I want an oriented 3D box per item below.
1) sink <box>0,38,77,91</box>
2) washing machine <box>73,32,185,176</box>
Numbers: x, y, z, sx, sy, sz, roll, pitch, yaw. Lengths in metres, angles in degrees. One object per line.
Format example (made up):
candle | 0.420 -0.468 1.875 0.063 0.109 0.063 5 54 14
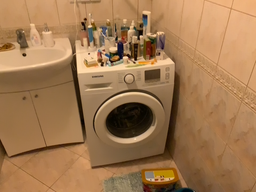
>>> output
sink | -0.730 -0.230 1.470 0.700 0.150 0.460 -8 35 -12
washing machine | -0.050 0.030 1.710 0.630 0.840 0.680 -8 35 -12
